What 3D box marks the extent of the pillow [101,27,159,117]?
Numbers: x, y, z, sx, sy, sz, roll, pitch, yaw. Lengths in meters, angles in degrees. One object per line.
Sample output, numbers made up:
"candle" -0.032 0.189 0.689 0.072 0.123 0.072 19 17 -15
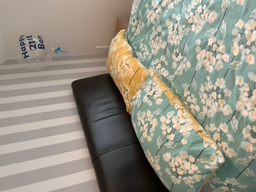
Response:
"pillow" -0.030 -0.220 1.700 0.660 0.190 0.390 -118 28 -42
